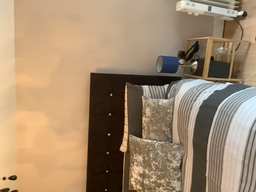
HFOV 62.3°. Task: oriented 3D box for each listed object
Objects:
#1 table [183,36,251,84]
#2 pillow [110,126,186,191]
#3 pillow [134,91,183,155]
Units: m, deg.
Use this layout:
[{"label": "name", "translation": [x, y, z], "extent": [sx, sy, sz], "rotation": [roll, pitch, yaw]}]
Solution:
[{"label": "table", "translation": [0.840, -0.340, 2.050], "extent": [0.380, 0.410, 0.390], "rotation": [-147, 60, -71]}, {"label": "pillow", "translation": [0.190, 0.600, 1.780], "extent": [0.190, 0.480, 0.500], "rotation": [-9, 120, 53]}, {"label": "pillow", "translation": [0.270, 0.220, 1.790], "extent": [0.150, 0.290, 0.430], "rotation": [9, 127, 50]}]
